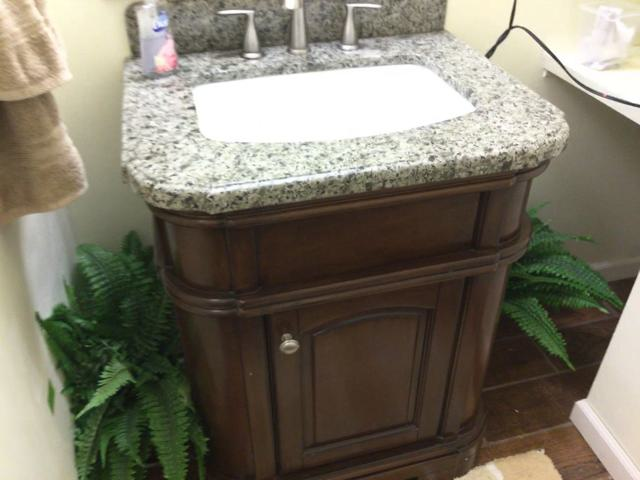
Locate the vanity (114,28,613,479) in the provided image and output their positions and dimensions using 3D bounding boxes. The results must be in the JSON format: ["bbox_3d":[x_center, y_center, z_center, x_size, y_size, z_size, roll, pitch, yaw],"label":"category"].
[{"bbox_3d":[0.020,0.100,1.270,0.710,0.900,0.570,-8,36,-11],"label":"vanity"}]

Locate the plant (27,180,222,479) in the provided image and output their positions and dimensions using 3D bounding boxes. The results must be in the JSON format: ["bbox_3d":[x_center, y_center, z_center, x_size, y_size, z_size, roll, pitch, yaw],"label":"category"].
[{"bbox_3d":[-0.380,0.220,1.230,0.250,0.440,0.580,-9,36,-12],"label":"plant"}]

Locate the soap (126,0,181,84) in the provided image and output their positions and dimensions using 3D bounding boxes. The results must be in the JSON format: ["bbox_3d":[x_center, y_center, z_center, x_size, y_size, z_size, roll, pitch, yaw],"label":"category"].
[{"bbox_3d":[-0.310,-0.400,1.070,0.070,0.170,0.150,-8,36,-11],"label":"soap"}]

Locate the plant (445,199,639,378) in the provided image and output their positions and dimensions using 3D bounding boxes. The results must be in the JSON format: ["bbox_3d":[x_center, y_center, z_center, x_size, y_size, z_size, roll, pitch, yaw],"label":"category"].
[{"bbox_3d":[0.570,0.100,1.480,0.320,0.170,0.440,-8,36,-11],"label":"plant"}]
